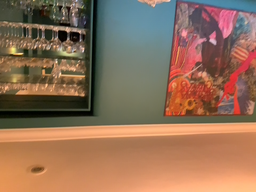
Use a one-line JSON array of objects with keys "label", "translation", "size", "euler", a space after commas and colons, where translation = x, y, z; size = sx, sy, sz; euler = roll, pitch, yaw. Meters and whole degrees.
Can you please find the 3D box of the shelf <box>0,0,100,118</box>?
[{"label": "shelf", "translation": [-0.830, -0.980, 2.130], "size": [1.020, 2.270, 0.760], "euler": [1, -167, -13]}]
